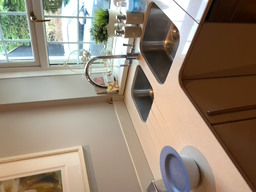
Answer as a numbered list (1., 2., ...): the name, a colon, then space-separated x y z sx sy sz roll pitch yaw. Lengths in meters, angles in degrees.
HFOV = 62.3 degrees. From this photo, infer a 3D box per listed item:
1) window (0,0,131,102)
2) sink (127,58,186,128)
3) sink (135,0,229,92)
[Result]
1. window: -0.640 -0.500 1.470 0.320 1.220 1.100 -116 29 -45
2. sink: 0.180 -0.030 1.530 0.340 0.220 0.360 104 153 -42
3. sink: 0.270 -0.320 1.260 0.370 0.260 0.440 104 153 -42
